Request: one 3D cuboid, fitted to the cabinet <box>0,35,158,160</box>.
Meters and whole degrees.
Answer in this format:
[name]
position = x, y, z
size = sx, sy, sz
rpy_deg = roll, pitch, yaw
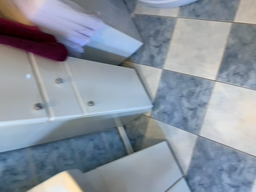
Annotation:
[cabinet]
position = -0.490, 0.020, 0.710
size = 0.320, 1.900, 0.330
rpy_deg = -34, 72, 26
